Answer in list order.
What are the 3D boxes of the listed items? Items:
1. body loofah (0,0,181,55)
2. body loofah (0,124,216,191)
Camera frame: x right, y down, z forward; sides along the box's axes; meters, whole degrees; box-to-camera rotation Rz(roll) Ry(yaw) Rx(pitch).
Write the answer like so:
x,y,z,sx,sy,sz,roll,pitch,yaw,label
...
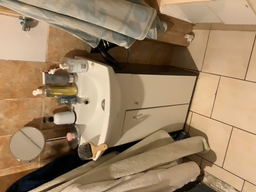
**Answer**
x,y,z,sx,sy,sz,roll,pitch,yaw,label
-0.180,-0.400,0.970,0.260,0.950,0.290,26,111,46,body loofah
-0.060,0.420,1.080,0.340,1.260,0.280,33,116,44,body loofah
